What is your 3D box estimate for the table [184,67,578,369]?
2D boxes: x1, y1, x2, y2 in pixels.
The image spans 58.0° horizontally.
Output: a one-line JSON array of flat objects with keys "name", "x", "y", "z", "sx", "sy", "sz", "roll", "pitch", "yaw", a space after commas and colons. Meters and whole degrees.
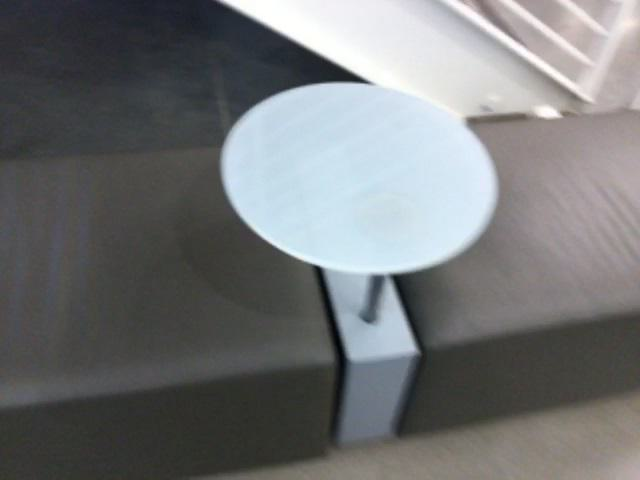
[{"name": "table", "x": 0.050, "y": -0.060, "z": 0.930, "sx": 0.500, "sy": 0.210, "sz": 0.420, "roll": -5, "pitch": 48, "yaw": -8}]
